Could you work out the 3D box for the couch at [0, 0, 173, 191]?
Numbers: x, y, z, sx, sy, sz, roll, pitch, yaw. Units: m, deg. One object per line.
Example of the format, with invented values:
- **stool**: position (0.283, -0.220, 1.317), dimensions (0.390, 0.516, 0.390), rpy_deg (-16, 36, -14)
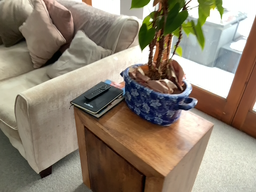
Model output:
- **couch**: position (-0.690, -0.310, 1.730), dimensions (1.660, 0.830, 1.050), rpy_deg (31, 44, 34)
